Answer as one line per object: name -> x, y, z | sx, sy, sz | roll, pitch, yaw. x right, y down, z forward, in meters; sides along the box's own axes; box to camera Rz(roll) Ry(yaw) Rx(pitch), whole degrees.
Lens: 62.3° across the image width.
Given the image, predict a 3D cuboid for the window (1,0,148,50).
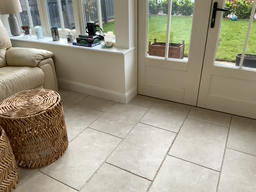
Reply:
window -> -0.800, -1.500, 2.480 | 2.140, 1.670, 0.220 | 12, 30, 24
